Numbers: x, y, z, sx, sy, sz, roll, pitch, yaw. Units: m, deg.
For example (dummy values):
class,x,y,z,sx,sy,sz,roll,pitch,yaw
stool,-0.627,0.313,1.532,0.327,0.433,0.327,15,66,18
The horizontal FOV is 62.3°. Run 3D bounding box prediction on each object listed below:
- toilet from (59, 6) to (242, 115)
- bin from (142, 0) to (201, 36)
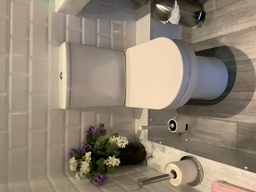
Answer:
class,x,y,z,sx,sy,sz,roll,pitch,yaw
toilet,0.100,-0.120,1.210,0.650,0.810,0.370,0,90,59
bin,0.290,-0.530,1.410,0.220,0.310,0.170,8,97,58
